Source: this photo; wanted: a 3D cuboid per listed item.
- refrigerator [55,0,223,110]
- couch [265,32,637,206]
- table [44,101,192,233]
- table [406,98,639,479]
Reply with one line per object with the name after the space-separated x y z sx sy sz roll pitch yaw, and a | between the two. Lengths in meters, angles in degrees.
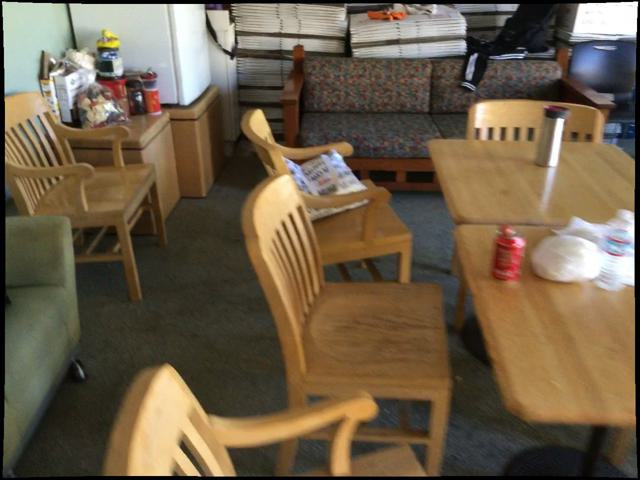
-0.999 -1.321 3.330 0.649 0.911 0.820 1 30 3 | refrigerator
0.699 -0.821 3.680 1.928 0.761 1.070 1 30 3 | couch
-1.059 -0.410 3.160 0.539 0.540 0.530 1 30 3 | table
0.759 0.180 1.820 0.799 0.821 1.520 1 30 3 | table
